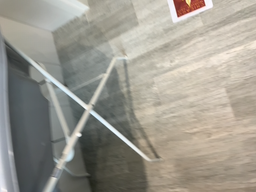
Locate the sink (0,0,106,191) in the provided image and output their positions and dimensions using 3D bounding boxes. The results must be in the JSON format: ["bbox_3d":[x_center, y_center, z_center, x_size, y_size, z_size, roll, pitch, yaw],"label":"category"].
[{"bbox_3d":[-0.470,0.130,0.750,0.530,0.340,1.000,-21,81,26],"label":"sink"}]
